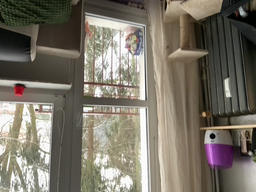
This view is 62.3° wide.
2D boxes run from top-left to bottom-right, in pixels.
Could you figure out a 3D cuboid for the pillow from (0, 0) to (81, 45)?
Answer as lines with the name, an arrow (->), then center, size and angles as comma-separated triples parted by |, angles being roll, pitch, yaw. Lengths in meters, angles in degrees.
pillow -> -0.520, -0.540, 1.180 | 0.480, 0.400, 0.150 | 5, -150, -20
